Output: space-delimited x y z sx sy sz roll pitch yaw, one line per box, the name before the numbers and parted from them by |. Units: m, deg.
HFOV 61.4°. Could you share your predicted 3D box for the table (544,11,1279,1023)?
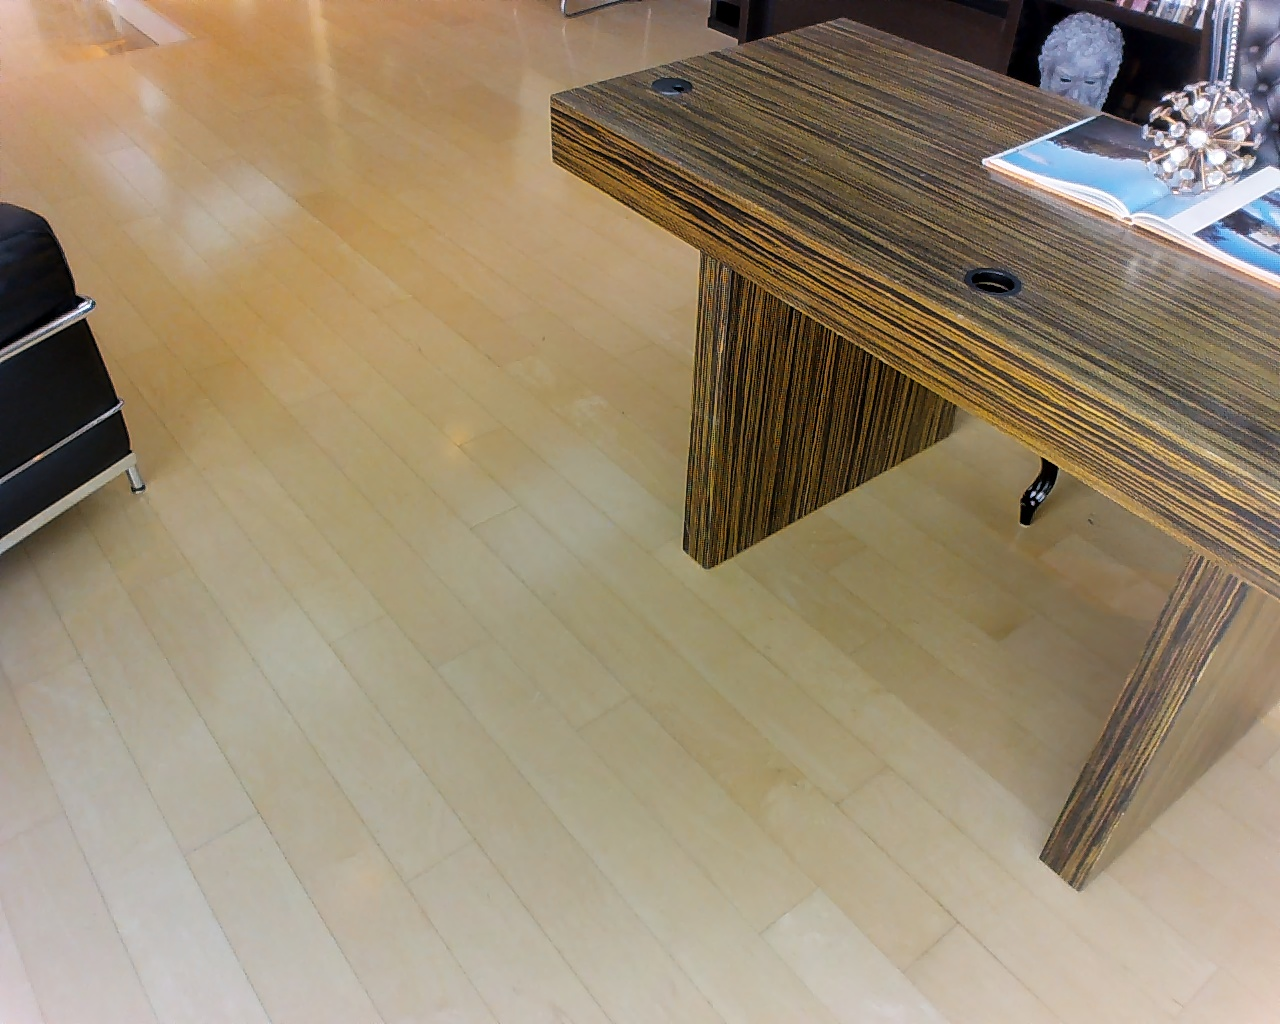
table | 0.720 -0.130 1.880 0.820 0.820 1.880 -27 48 -28
